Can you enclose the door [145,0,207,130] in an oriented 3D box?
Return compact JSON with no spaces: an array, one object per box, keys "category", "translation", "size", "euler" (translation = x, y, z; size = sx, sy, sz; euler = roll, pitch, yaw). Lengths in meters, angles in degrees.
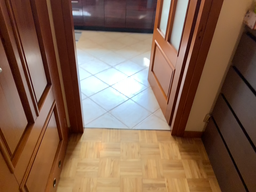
[{"category":"door","translation":[0.370,-0.760,1.660],"size":[0.110,2.080,0.820],"euler":[-2,38,-7]}]
